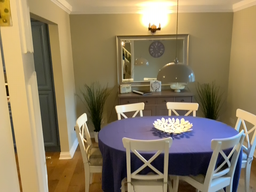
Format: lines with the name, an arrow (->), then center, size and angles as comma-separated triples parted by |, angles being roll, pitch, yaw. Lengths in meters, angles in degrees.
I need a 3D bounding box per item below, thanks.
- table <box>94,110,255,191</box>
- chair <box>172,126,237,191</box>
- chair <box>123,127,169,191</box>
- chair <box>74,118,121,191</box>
table -> 0.420, 0.720, 2.480 | 1.520, 0.750, 1.120 | -2, 13, -6
chair -> 0.750, 0.770, 2.160 | 0.380, 0.770, 0.450 | -8, 14, -29
chair -> 0.160, 0.780, 2.080 | 0.380, 0.820, 0.450 | -1, 13, 0
chair -> -0.340, 0.720, 2.410 | 0.450, 0.820, 0.380 | -4, 13, -11
